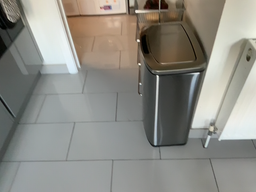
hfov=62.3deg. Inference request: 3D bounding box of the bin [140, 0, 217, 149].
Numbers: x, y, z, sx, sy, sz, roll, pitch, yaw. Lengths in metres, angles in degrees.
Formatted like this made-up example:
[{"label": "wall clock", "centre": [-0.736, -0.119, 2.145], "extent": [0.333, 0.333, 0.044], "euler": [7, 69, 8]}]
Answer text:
[{"label": "bin", "centre": [0.250, -0.140, 1.380], "extent": [0.320, 0.660, 0.700], "euler": [0, 46, 4]}]
